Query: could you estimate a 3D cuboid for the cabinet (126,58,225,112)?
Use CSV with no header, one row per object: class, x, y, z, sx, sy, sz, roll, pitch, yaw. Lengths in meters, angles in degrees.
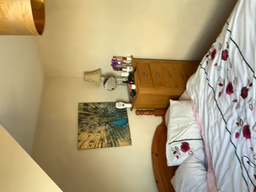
cabinet,0.570,-0.130,2.790,0.410,1.110,0.540,105,162,-52
